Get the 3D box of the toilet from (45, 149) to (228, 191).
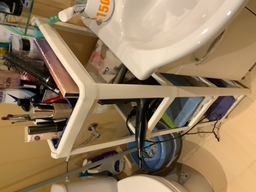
[{"bbox_3d":[0.060,0.610,1.160,0.670,0.750,0.410,-3,88,46],"label":"toilet"}]
